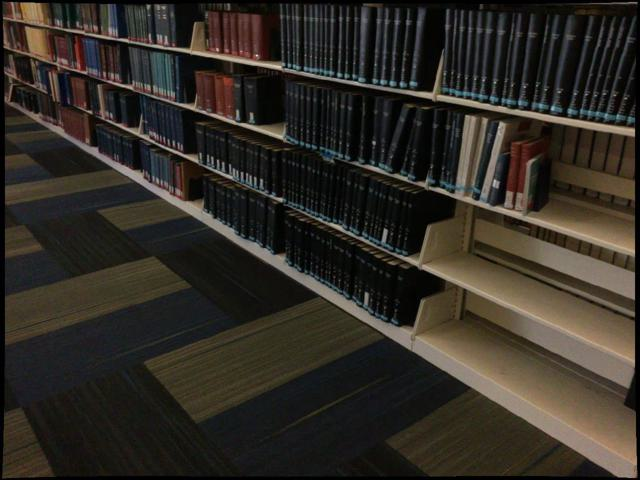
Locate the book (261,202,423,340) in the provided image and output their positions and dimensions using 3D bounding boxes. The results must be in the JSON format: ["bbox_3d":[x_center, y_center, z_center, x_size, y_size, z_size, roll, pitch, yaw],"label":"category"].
[{"bbox_3d":[0.060,0.110,2.750,0.140,0.311,0.989,-19,29,-35],"label":"book"}]

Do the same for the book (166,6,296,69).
[{"bbox_3d":[-0.509,-1.133,3.170,0.280,0.271,0.869,-19,29,-35],"label":"book"}]

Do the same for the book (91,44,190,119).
[{"bbox_3d":[-1.237,-1.093,3.880,0.150,0.351,1.159,-19,29,-35],"label":"book"}]

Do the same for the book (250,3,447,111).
[{"bbox_3d":[0.060,-0.792,2.390,0.130,0.341,1.039,-19,29,-35],"label":"book"}]

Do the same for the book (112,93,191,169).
[{"bbox_3d":[-1.177,-0.772,3.970,0.090,0.351,0.969,-19,29,-35],"label":"book"}]

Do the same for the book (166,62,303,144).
[{"bbox_3d":[-0.509,-0.802,3.260,0.280,0.291,0.979,-19,29,-35],"label":"book"}]

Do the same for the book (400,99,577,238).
[{"bbox_3d":[0.578,-0.281,2.070,0.270,0.351,0.520,-19,29,-35],"label":"book"}]

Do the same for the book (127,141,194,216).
[{"bbox_3d":[-1.117,-0.441,4.000,0.110,0.341,0.729,-19,29,-35],"label":"book"}]

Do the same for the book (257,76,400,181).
[{"bbox_3d":[0.010,-0.511,2.520,0.150,0.311,0.769,-19,29,-35],"label":"book"}]

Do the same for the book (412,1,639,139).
[{"bbox_3d":[0.738,-0.541,1.750,0.210,0.331,1.009,-19,29,-35],"label":"book"}]

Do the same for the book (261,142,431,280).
[{"bbox_3d":[0.070,-0.170,2.630,0.130,0.361,0.989,-19,29,-35],"label":"book"}]
